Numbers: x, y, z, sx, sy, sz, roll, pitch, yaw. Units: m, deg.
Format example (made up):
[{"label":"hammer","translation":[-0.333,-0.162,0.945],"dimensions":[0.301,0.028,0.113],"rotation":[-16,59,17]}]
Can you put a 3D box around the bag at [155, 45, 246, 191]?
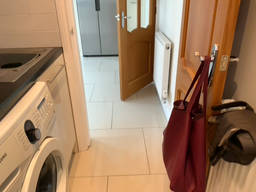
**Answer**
[{"label":"bag","translation":[0.250,0.140,0.920],"dimensions":[0.160,0.630,0.370],"rotation":[-3,27,-5]}]

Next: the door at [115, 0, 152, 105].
[{"label":"door","translation":[0.090,-0.890,2.490],"dimensions":[0.070,1.940,0.670],"rotation":[16,31,30]}]
